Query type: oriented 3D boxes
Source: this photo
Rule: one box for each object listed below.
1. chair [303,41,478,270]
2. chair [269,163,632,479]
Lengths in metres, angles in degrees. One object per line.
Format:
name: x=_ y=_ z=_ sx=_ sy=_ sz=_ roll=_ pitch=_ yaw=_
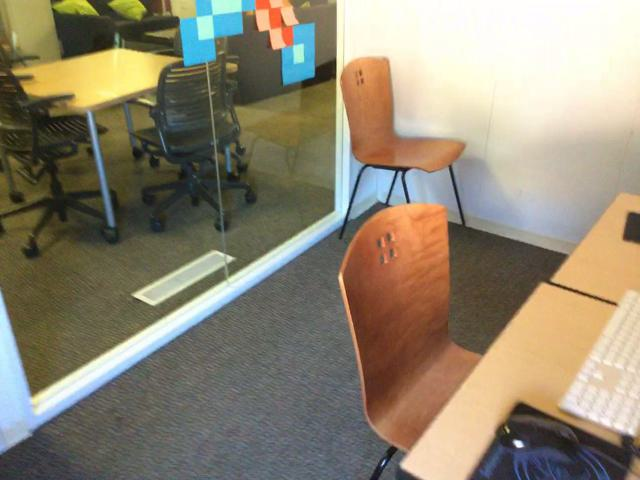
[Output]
chair: x=0.320 y=-0.420 z=2.700 sx=0.550 sy=0.840 sz=0.540 roll=20 pitch=36 yaw=33
chair: x=0.240 y=0.320 z=1.320 sx=0.500 sy=0.790 sz=0.480 roll=-17 pitch=33 yaw=-25
